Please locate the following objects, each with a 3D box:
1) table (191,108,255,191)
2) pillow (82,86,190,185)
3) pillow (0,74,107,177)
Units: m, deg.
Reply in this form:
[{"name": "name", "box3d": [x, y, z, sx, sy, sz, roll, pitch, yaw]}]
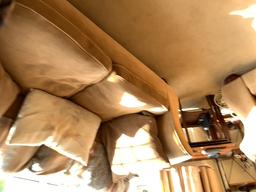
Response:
[{"name": "table", "box3d": [1.140, 0.650, 2.400, 0.530, 0.810, 0.370, -27, 139, 27]}, {"name": "pillow", "box3d": [0.020, 0.340, 1.640, 0.710, 0.460, 0.350, -30, 137, 30]}, {"name": "pillow", "box3d": [-0.470, 0.210, 1.410, 0.250, 0.370, 0.580, -33, 120, 31]}]
